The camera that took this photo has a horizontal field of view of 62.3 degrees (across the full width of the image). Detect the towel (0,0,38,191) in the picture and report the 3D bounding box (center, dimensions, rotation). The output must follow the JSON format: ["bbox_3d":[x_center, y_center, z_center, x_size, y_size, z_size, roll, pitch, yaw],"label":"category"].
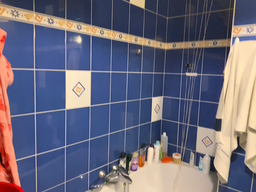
[{"bbox_3d":[-0.640,0.070,0.990,0.150,1.020,0.370,9,9,41],"label":"towel"}]
